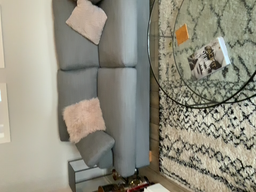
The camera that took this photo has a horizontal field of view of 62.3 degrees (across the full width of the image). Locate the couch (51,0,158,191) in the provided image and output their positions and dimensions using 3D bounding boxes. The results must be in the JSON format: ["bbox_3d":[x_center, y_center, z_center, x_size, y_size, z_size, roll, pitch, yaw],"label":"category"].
[{"bbox_3d":[-0.330,-0.310,2.480,1.120,0.820,2.360,12,104,60],"label":"couch"}]
